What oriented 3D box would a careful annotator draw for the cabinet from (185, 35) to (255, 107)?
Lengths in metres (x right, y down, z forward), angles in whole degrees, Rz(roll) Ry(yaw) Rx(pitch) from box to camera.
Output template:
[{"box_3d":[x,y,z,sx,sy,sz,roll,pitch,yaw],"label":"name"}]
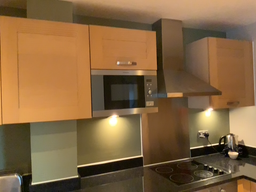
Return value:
[{"box_3d":[1.030,-0.250,2.370,0.650,0.710,0.370,-2,0,-24],"label":"cabinet"}]
